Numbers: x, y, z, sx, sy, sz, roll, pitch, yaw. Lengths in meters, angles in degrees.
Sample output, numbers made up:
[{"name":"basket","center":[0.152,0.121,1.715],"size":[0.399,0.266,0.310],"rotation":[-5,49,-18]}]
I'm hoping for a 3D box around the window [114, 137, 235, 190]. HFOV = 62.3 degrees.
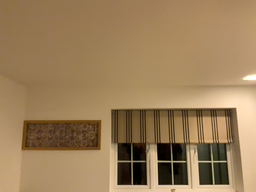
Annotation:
[{"name":"window","center":[0.620,0.950,3.020],"size":[1.620,0.690,0.170],"rotation":[-1,-11,2]}]
